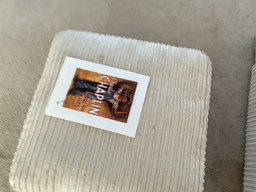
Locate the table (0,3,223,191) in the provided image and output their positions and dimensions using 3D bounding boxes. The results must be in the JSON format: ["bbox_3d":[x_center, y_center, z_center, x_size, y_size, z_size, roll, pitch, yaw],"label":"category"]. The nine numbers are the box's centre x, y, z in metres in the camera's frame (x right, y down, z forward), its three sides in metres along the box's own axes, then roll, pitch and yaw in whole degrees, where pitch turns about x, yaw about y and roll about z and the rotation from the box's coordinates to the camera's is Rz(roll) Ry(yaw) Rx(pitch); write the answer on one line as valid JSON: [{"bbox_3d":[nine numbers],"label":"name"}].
[{"bbox_3d":[-0.050,0.090,0.870,0.650,0.430,0.650,11,72,3],"label":"table"}]
